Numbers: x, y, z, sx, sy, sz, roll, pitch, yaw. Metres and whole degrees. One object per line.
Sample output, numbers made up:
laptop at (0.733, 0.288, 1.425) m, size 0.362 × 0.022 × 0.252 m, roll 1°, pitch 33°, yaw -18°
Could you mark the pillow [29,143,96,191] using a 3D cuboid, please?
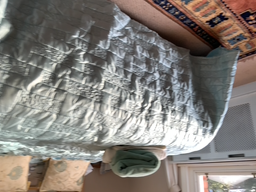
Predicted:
pillow at (-0.650, 0.810, 2.160) m, size 0.460 × 0.450 × 0.160 m, roll -32°, pitch 174°, yaw -48°
